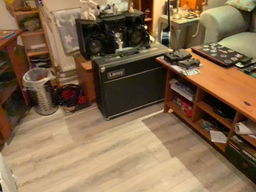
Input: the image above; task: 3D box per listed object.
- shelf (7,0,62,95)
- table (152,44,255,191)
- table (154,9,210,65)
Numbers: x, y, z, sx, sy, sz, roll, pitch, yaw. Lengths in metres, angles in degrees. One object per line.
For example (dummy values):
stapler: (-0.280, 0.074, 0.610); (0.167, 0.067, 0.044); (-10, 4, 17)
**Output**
shelf: (-0.920, -0.760, 1.940); (0.260, 1.610, 0.190); (-19, 39, -24)
table: (0.760, 0.080, 1.650); (0.550, 0.510, 1.180); (-19, 39, -23)
table: (0.720, -0.820, 2.900); (0.590, 0.550, 0.370); (-21, 40, -26)
